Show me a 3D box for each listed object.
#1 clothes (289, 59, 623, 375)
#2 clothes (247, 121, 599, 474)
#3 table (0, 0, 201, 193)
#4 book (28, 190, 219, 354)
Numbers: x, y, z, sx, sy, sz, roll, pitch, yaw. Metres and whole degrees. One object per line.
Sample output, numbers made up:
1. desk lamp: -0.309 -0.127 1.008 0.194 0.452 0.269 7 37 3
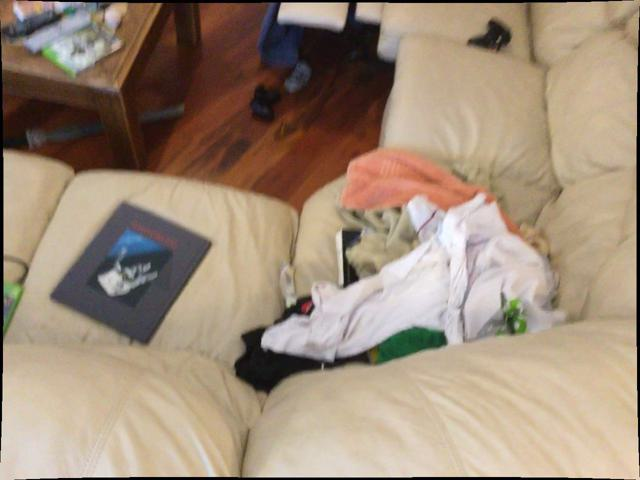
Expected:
1. clothes: 0.330 -0.070 1.490 0.640 0.350 0.460 31 57 11
2. clothes: 0.200 0.110 1.220 0.530 0.320 0.450 31 57 11
3. table: -0.959 -0.761 2.030 0.889 0.480 0.991 7 56 -5
4. book: -0.440 0.060 1.320 0.270 0.030 0.320 31 57 11
